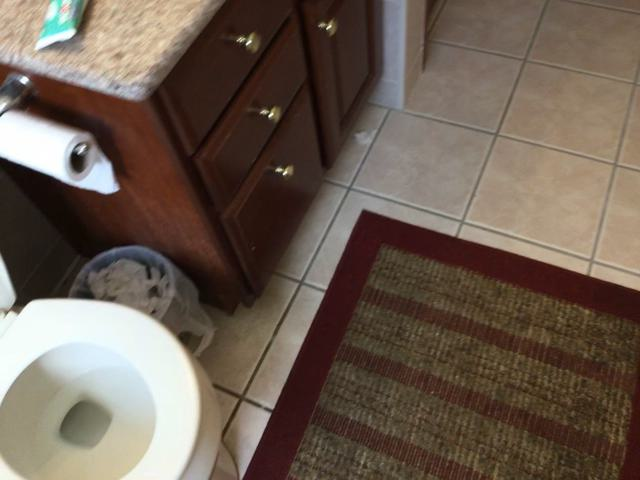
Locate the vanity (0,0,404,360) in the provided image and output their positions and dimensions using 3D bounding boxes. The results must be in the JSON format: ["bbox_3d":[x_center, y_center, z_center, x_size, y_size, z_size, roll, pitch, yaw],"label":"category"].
[{"bbox_3d":[-0.250,-0.360,1.190,0.600,0.810,0.800,18,62,17],"label":"vanity"}]

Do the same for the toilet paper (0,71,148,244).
[{"bbox_3d":[-0.400,-0.120,0.850,0.200,0.200,0.110,18,62,17],"label":"toilet paper"}]
